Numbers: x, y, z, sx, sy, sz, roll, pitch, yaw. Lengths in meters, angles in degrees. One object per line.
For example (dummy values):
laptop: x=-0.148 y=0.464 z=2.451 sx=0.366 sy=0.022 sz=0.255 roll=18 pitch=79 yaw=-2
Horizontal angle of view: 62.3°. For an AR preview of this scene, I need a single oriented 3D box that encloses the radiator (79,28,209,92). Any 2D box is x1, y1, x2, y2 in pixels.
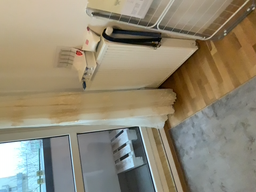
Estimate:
radiator: x=0.120 y=-0.300 z=2.070 sx=0.720 sy=1.040 sz=0.200 roll=-46 pitch=53 yaw=56
